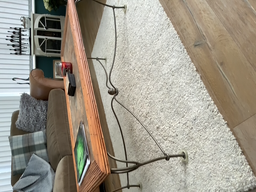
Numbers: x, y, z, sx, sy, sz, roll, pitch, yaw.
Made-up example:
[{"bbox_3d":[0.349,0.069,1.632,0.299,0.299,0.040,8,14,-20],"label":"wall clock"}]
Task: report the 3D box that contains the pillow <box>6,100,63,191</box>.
[{"bbox_3d":[-0.990,0.970,2.260,0.650,0.480,1.760,122,138,-50],"label":"pillow"}]
